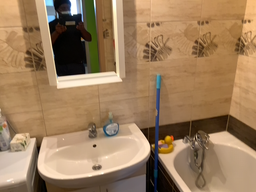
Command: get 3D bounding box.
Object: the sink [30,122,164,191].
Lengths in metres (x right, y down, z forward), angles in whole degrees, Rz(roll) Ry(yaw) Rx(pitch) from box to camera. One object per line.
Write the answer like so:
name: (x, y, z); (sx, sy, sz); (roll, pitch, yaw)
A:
sink: (-0.190, 0.390, 1.290); (0.670, 0.180, 0.450); (-7, 22, -16)
